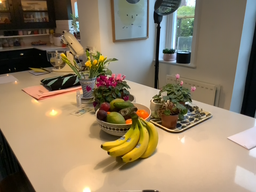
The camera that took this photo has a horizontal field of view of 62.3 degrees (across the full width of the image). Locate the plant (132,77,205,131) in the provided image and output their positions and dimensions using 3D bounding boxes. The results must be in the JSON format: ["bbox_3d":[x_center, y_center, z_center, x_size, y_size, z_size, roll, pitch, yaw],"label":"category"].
[{"bbox_3d":[0.240,0.020,1.220,0.270,0.150,0.370,14,24,34],"label":"plant"}]

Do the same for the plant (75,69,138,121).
[{"bbox_3d":[-0.150,-0.030,1.320,0.290,0.170,0.410,-7,21,-18],"label":"plant"}]
